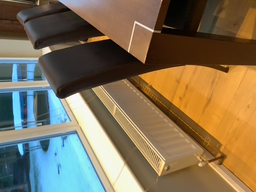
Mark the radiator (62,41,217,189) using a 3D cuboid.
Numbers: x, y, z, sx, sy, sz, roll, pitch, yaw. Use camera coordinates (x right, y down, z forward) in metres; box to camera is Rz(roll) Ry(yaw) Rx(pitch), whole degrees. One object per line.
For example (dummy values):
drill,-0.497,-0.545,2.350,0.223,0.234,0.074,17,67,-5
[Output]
radiator,-0.100,-0.060,1.750,1.710,0.400,0.180,46,132,44
